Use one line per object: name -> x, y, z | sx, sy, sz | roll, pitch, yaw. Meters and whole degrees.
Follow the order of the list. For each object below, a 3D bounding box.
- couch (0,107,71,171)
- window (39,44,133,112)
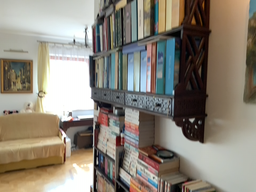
couch -> -1.990, 0.790, 4.350 | 1.350, 0.920, 1.090 | -1, 5, -29
window -> -0.960, -0.420, 5.390 | 2.360, 1.480, 0.320 | -1, 5, -32
